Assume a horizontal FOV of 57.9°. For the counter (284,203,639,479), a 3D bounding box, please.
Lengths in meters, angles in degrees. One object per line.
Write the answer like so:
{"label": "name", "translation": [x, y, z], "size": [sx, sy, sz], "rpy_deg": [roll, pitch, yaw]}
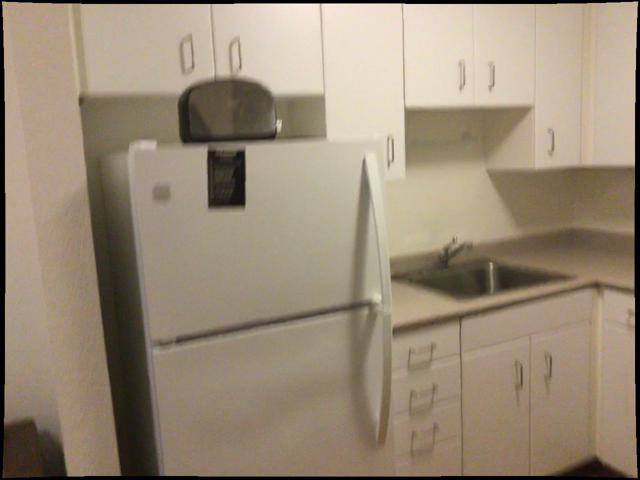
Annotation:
{"label": "counter", "translation": [1.099, 0.160, 1.810], "size": [1.739, 0.210, 2.130], "rpy_deg": [-9, 11, -24]}
